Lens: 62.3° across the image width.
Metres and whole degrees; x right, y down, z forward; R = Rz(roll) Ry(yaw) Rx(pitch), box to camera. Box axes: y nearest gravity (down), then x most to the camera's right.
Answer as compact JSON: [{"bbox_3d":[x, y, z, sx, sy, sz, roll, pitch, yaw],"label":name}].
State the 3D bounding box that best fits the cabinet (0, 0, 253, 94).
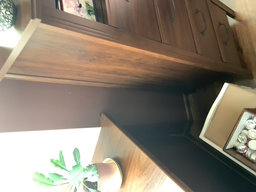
[{"bbox_3d":[0.100,-0.320,1.110,0.510,1.320,0.470,-15,76,47],"label":"cabinet"}]
